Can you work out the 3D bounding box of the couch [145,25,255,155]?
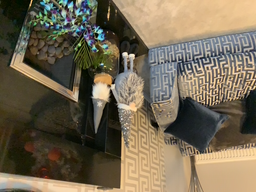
[{"bbox_3d":[0.920,0.040,1.950,1.360,0.730,1.080,-5,152,11],"label":"couch"}]
